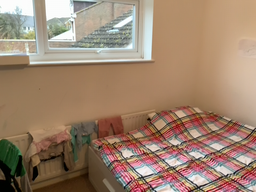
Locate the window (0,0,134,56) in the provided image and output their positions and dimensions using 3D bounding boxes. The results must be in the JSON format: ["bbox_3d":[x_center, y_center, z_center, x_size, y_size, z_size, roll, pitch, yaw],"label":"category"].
[{"bbox_3d":[-0.680,-0.760,2.230,1.690,0.640,0.070,-8,17,-30],"label":"window"}]
